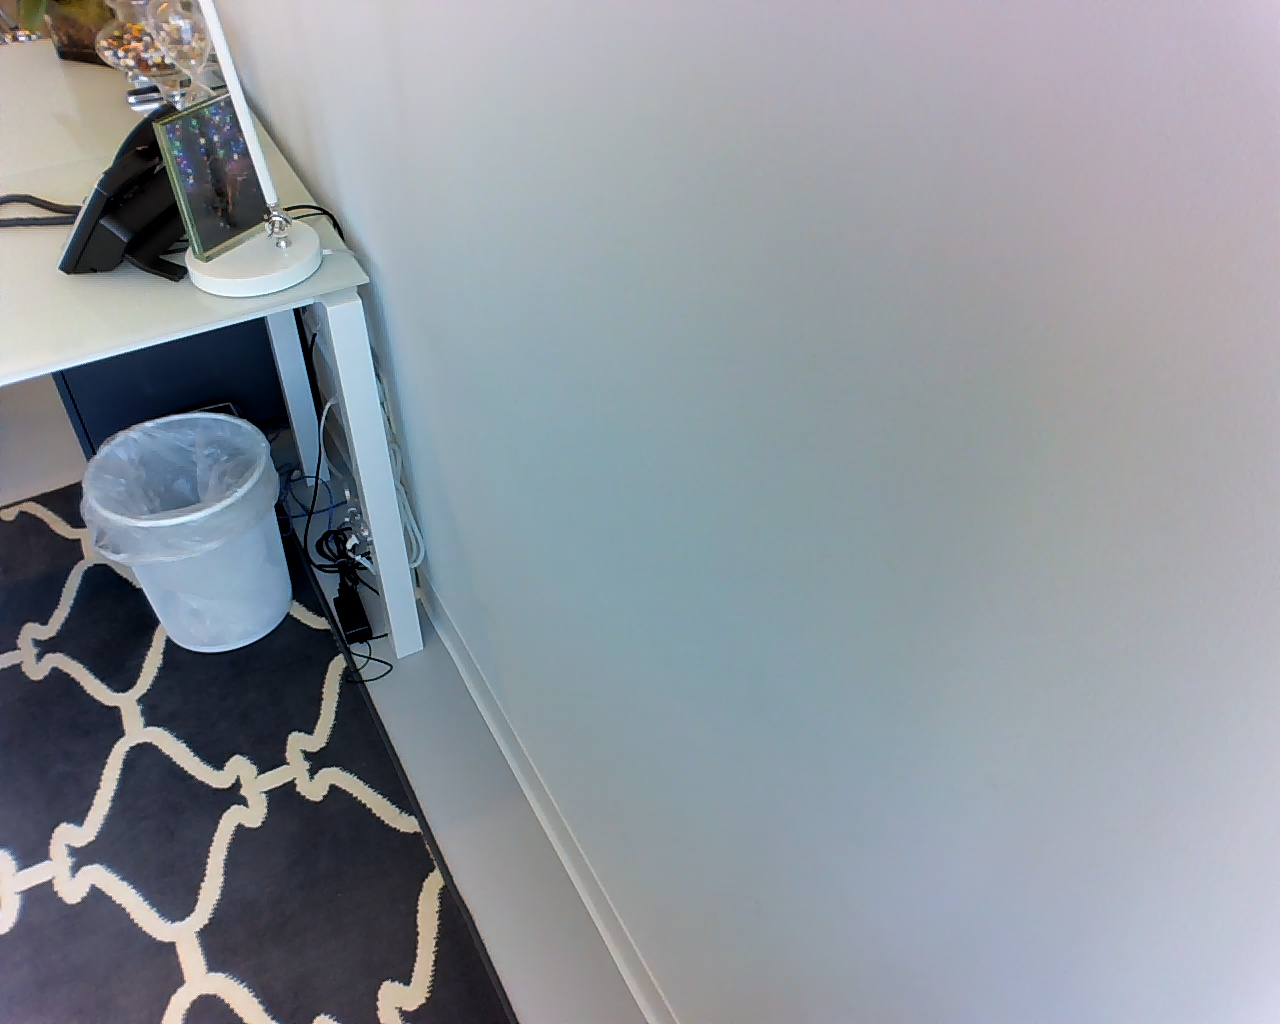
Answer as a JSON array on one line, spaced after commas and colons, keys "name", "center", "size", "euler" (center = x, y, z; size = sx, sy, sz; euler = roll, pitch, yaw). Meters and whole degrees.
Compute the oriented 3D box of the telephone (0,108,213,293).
[{"name": "telephone", "center": [-0.720, -0.430, 1.470], "size": [0.190, 0.160, 0.200], "euler": [-7, 42, -7]}]
